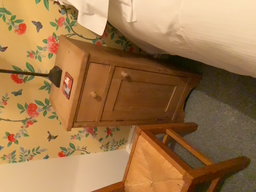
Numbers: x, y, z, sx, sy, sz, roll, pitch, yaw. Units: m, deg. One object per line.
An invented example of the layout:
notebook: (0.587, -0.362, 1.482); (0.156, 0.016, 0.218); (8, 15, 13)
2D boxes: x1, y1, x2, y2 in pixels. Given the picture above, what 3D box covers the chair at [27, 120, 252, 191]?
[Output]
chair: (0.060, 0.450, 1.010); (0.450, 0.900, 0.480); (38, 118, 47)
